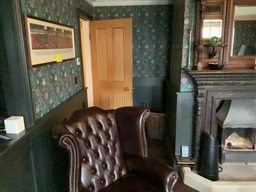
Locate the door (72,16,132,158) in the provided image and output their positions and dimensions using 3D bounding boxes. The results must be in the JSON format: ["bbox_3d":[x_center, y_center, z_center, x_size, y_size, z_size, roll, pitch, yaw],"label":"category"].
[{"bbox_3d":[-0.420,-0.110,3.620,0.980,2.300,0.140,5,15,22],"label":"door"}]
